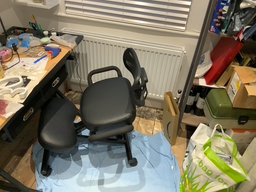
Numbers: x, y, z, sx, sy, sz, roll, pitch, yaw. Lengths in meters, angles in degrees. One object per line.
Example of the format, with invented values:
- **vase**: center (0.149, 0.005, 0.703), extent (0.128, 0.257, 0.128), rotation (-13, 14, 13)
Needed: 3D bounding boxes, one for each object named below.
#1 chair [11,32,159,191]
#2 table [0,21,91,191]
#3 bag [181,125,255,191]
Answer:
- **chair**: center (-0.270, 0.080, 1.440), extent (0.650, 0.760, 0.690), rotation (-6, 40, -12)
- **table**: center (-0.780, 0.080, 1.450), extent (0.610, 0.680, 1.260), rotation (11, 40, 8)
- **bag**: center (0.540, 0.490, 1.370), extent (0.300, 0.400, 0.380), rotation (9, 40, 6)
